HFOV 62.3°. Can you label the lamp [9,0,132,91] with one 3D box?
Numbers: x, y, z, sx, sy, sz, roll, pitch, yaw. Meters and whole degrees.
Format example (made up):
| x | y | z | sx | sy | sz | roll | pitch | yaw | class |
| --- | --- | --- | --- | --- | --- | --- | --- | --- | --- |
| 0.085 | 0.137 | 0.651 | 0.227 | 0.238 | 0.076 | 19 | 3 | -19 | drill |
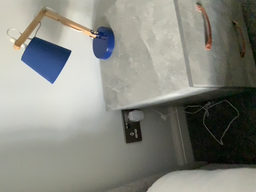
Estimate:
| x | y | z | sx | sy | sz | roll | pitch | yaw | class |
| --- | --- | --- | --- | --- | --- | --- | --- | --- | --- |
| -0.190 | -0.150 | 0.710 | 0.190 | 0.330 | 0.230 | -19 | 76 | 50 | lamp |
